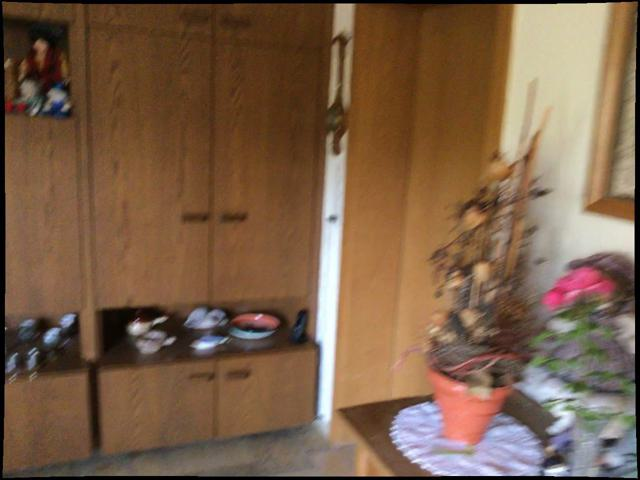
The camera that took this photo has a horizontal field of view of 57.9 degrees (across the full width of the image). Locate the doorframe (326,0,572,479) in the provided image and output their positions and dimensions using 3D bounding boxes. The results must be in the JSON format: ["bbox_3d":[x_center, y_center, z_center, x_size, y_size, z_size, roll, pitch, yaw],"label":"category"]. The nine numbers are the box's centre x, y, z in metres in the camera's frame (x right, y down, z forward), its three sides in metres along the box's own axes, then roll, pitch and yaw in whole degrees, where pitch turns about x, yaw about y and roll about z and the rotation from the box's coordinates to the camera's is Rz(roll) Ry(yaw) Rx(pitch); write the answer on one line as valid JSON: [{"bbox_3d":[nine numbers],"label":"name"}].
[{"bbox_3d":[0.390,0.040,2.190,0.290,1.962,0.810,-2,14,-24],"label":"doorframe"}]

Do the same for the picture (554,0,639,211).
[{"bbox_3d":[0.729,-0.300,1.110,0.030,0.520,0.600,-2,14,-24],"label":"picture"}]

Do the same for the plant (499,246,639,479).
[{"bbox_3d":[0.579,0.240,1.110,0.250,0.380,0.330,-2,14,-24],"label":"plant"}]

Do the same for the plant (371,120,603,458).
[{"bbox_3d":[0.350,0.080,1.330,0.270,0.671,0.350,-2,14,-24],"label":"plant"}]
